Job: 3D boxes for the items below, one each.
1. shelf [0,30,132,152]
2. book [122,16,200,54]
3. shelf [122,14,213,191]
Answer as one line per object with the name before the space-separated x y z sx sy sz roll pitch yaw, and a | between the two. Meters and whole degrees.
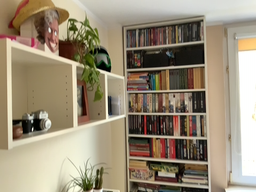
shelf | -0.290 -0.010 1.430 0.260 0.390 1.490 -1 -1 15
book | 0.340 -0.610 2.200 0.770 0.250 0.230 -1 -1 18
shelf | 0.400 0.490 2.170 0.840 2.480 0.240 -1 -1 17
